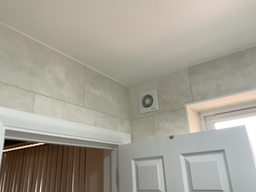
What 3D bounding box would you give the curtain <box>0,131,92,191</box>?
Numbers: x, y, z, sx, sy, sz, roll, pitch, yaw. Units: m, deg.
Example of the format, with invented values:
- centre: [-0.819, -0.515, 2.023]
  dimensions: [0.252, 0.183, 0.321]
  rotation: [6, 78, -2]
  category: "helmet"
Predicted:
- centre: [-1.010, 1.100, 2.100]
  dimensions: [1.830, 1.230, 0.040]
  rotation: [-17, -25, 35]
  category: "curtain"
